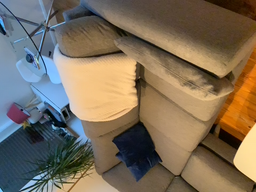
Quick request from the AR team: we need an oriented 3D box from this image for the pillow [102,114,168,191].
[{"bbox_3d":[0.090,0.590,2.240,0.380,0.300,0.710,12,136,48],"label":"pillow"}]
